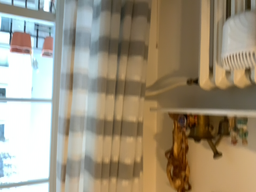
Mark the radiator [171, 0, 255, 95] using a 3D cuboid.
[{"bbox_3d":[0.490,-0.310,0.830,0.220,0.590,0.660,3,177,-34],"label":"radiator"}]
